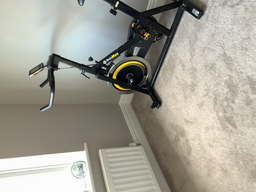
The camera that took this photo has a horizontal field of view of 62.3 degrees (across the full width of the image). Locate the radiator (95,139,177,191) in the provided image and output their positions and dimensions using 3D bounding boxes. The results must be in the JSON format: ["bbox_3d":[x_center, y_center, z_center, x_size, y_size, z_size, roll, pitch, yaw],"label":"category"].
[{"bbox_3d":[0.110,0.840,1.780,1.000,0.580,0.160,-113,32,-42],"label":"radiator"}]
